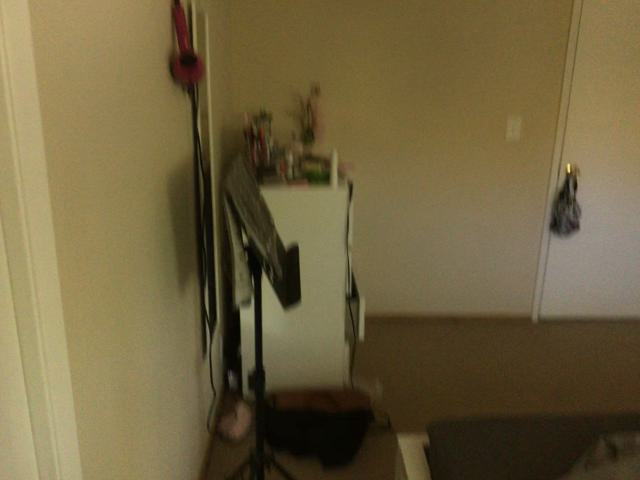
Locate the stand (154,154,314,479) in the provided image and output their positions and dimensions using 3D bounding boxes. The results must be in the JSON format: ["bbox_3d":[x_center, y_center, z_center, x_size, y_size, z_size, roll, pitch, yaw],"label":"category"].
[{"bbox_3d":[-0.190,0.380,1.660,0.270,1.160,0.470,-3,19,1],"label":"stand"}]
